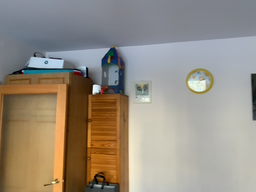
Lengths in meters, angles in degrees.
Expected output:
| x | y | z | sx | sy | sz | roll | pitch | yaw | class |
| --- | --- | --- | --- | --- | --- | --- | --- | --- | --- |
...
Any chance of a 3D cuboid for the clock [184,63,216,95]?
| x | y | z | sx | sy | sz | roll | pitch | yaw | class |
| --- | --- | --- | --- | --- | --- | --- | --- | --- | --- |
| 0.820 | -0.190 | 2.430 | 0.340 | 0.360 | 0.050 | 0 | -5 | 15 | clock |
